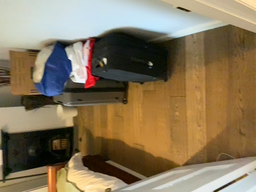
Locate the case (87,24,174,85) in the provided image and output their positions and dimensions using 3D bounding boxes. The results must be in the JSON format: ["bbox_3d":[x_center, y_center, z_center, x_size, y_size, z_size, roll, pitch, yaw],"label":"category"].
[{"bbox_3d":[0.030,-0.320,1.890,0.390,0.660,0.410,-3,89,53],"label":"case"}]

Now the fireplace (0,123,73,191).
[{"bbox_3d":[-1.500,0.950,3.490,0.280,1.120,0.860,0,91,53],"label":"fireplace"}]

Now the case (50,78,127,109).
[{"bbox_3d":[-0.450,-0.030,2.450,0.500,0.720,0.300,0,91,53],"label":"case"}]
